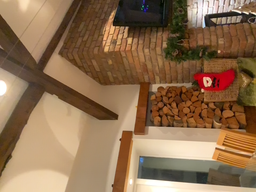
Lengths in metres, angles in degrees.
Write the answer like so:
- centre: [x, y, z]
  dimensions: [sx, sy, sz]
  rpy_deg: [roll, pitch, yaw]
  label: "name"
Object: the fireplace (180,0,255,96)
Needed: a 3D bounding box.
- centre: [1.400, -1.050, 2.920]
  dimensions: [1.230, 1.320, 1.720]
  rpy_deg: [73, -158, -50]
  label: "fireplace"
